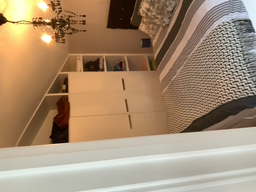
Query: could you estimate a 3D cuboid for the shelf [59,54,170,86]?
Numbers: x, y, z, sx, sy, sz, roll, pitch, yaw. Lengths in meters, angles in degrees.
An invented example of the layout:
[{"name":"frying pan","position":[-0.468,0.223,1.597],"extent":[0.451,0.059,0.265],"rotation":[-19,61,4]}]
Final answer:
[{"name":"shelf","position":[-0.270,-0.520,4.370],"extent":[0.580,2.140,0.360],"rotation":[112,152,-59]}]
